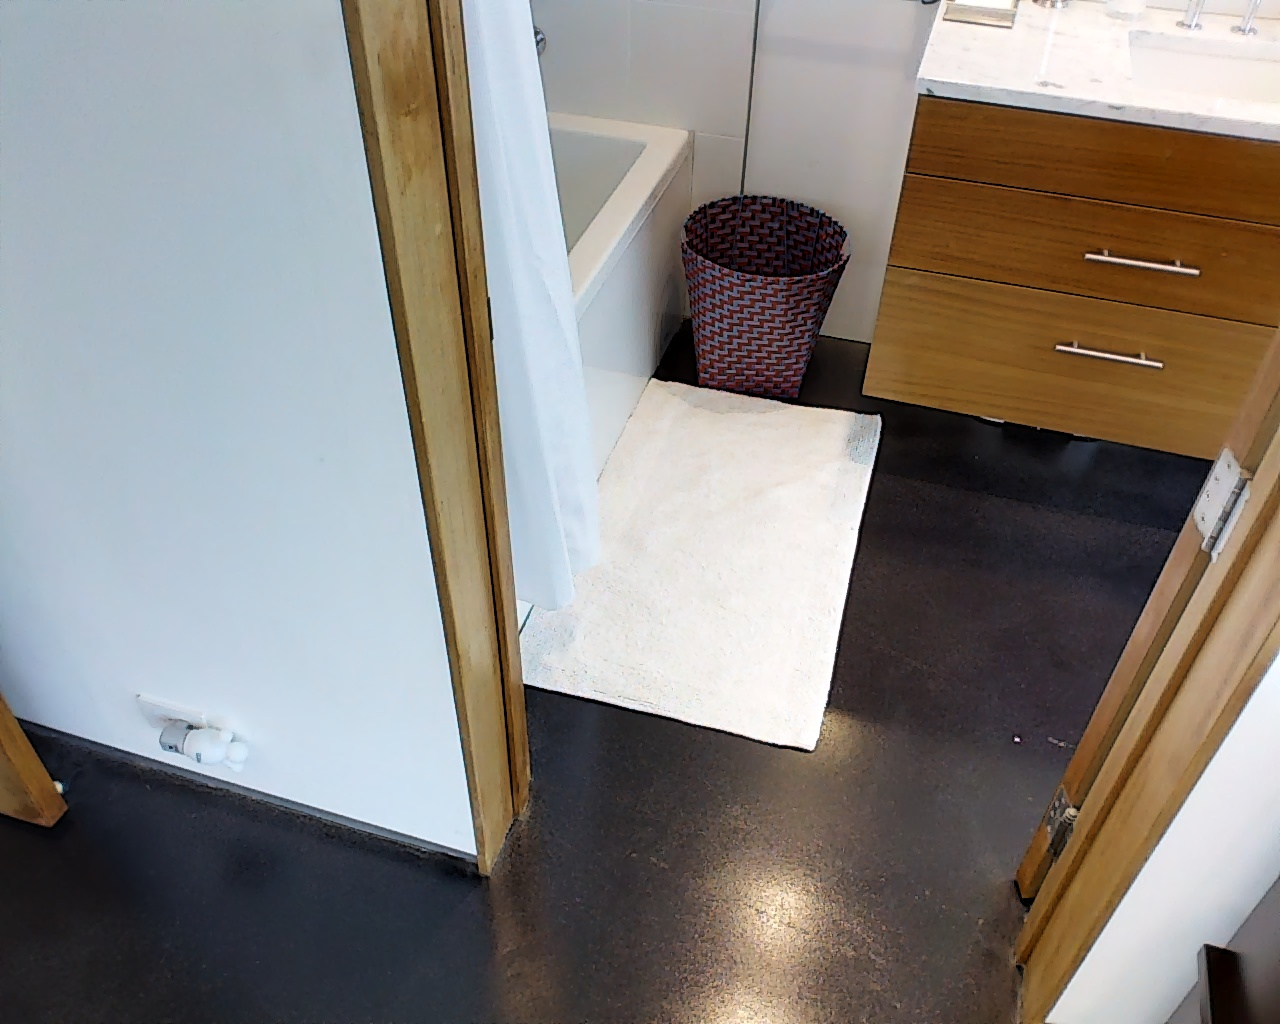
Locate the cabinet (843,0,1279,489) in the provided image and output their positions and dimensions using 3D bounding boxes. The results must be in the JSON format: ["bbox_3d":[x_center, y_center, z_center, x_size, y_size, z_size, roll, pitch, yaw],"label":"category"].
[{"bbox_3d":[1.020,-0.600,2.230,1.000,0.750,0.600,13,44,12],"label":"cabinet"}]

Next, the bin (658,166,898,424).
[{"bbox_3d":[0.340,-0.550,2.690,0.480,0.410,0.410,13,44,12],"label":"bin"}]
